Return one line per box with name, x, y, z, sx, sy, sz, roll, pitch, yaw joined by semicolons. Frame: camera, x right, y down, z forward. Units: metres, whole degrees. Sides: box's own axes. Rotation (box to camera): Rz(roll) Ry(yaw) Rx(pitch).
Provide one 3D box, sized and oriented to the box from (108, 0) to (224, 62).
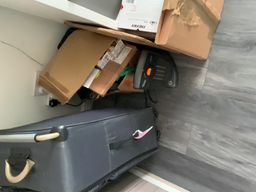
box;0.210;-0.380;1.020;0.330;0.480;0.320;19;102;30
